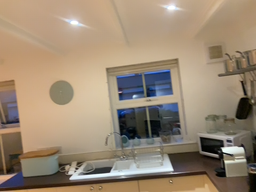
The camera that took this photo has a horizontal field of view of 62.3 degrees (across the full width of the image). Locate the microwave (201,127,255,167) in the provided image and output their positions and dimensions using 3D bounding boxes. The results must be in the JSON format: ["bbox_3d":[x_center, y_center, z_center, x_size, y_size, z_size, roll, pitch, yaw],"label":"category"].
[{"bbox_3d":[1.040,0.510,2.200,0.420,0.270,0.440,-6,1,5],"label":"microwave"}]

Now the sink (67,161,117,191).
[{"bbox_3d":[-0.370,0.860,2.280,0.430,0.160,0.380,-6,1,5],"label":"sink"}]
